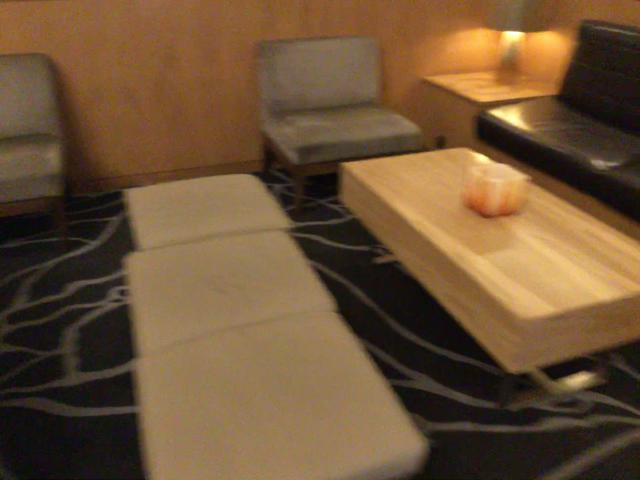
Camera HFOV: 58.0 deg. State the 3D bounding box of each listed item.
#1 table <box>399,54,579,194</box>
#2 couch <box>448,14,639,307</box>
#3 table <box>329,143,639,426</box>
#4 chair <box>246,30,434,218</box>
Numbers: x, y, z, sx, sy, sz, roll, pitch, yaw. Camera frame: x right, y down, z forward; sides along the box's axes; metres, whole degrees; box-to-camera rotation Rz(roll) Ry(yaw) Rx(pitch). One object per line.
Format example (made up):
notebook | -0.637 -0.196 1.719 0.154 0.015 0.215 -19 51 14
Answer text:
table | 0.990 -0.750 3.560 0.660 0.610 0.760 -10 30 -21
couch | 1.450 -0.370 2.510 0.700 0.930 1.900 -10 30 -21
table | 0.590 0.030 2.100 0.660 0.340 1.240 -10 30 -21
chair | 0.070 -0.680 3.200 0.760 0.800 0.700 -10 30 -21
